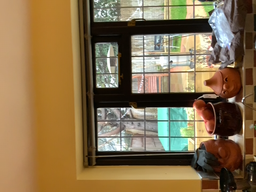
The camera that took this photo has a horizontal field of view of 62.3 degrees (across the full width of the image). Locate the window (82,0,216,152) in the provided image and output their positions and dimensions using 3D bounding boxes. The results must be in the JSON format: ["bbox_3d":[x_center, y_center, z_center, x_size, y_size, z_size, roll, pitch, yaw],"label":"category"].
[{"bbox_3d":[0.150,-0.250,1.520,0.070,0.920,1.300,-64,-27,-86],"label":"window"}]
